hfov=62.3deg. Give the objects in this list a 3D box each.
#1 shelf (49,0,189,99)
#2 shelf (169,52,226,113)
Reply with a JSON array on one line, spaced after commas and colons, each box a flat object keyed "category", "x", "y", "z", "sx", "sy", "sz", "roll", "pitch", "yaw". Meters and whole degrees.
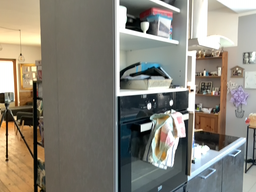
[{"category": "shelf", "x": -0.040, "y": -0.400, "z": 1.290, "sx": 0.540, "sy": 0.750, "sz": 0.650, "roll": 5, "pitch": 7, "yaw": 43}, {"category": "shelf", "x": 1.370, "y": -0.280, "z": 4.320, "sx": 1.080, "sy": 1.120, "sz": 0.200, "roll": 5, "pitch": 7, "yaw": 44}]
